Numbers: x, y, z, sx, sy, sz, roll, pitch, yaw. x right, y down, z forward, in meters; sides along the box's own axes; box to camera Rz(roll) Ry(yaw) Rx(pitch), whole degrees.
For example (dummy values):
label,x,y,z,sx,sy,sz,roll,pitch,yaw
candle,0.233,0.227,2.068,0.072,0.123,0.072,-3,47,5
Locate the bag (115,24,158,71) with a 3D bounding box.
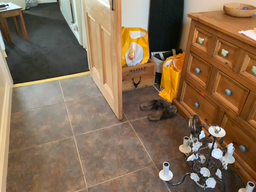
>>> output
label,x,y,z,sx,sy,sz,roll,pitch,yaw
bag,0.070,-0.480,2.080,0.350,0.360,0.250,-6,36,-12
